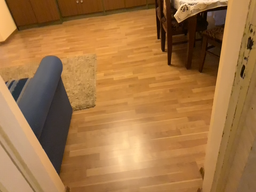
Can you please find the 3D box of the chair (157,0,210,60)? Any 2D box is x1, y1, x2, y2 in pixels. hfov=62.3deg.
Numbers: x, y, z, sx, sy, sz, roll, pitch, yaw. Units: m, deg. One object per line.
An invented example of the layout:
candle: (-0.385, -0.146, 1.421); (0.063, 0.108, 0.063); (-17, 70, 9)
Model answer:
chair: (0.630, -0.970, 2.510); (0.490, 0.920, 0.420); (-8, 38, 1)

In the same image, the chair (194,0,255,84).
chair: (1.020, -0.690, 2.070); (0.430, 0.930, 0.490); (-27, 42, -23)

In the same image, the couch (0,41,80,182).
couch: (-1.240, 0.140, 1.650); (1.530, 0.600, 0.880); (-9, 38, 0)
